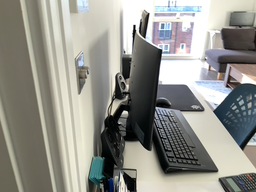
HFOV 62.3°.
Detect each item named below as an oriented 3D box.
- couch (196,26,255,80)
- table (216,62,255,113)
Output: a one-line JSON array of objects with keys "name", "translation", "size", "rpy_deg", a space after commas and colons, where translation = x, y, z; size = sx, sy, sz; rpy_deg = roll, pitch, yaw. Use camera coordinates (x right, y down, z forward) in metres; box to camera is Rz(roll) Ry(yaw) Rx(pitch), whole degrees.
[{"name": "couch", "translation": [2.070, -0.910, 4.320], "size": [1.010, 0.920, 0.830], "rpy_deg": [0, 24, 1]}, {"name": "table", "translation": [1.890, -0.190, 3.310], "size": [0.550, 0.410, 1.140], "rpy_deg": [0, 24, 1]}]
